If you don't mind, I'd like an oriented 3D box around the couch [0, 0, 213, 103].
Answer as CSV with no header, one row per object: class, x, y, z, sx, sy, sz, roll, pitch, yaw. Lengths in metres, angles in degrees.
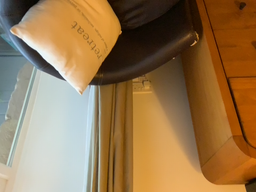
couch,-0.130,-0.480,0.920,0.670,0.640,0.710,-18,146,28
